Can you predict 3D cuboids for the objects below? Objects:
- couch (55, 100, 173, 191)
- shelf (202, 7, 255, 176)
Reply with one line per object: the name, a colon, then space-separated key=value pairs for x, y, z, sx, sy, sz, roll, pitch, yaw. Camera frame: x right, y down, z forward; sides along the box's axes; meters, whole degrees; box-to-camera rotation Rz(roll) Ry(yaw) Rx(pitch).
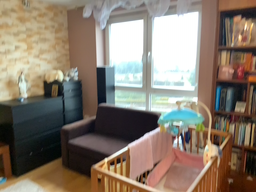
couch: x=-0.210 y=0.630 z=2.960 sx=1.420 sy=0.870 sz=0.800 roll=7 pitch=13 yaw=34
shelf: x=1.340 y=-0.030 z=2.180 sx=0.930 sy=1.630 sz=0.380 roll=7 pitch=12 yaw=33
